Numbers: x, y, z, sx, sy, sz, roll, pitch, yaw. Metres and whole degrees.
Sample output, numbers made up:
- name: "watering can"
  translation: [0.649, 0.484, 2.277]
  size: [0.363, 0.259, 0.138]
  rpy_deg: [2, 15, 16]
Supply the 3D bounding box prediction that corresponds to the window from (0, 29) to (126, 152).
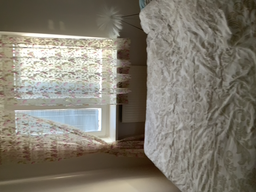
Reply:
- name: "window"
  translation: [-0.930, -0.070, 2.910]
  size: [0.330, 1.750, 1.500]
  rpy_deg: [-159, 69, -72]
